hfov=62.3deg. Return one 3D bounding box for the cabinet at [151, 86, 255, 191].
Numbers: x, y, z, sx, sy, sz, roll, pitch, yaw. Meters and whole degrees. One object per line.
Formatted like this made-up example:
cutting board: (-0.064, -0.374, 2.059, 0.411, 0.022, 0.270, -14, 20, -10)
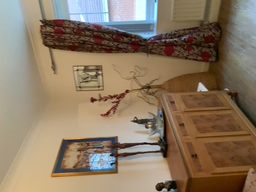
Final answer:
cabinet: (0.760, 0.420, 2.070, 1.150, 0.890, 0.490, -96, 4, -57)
